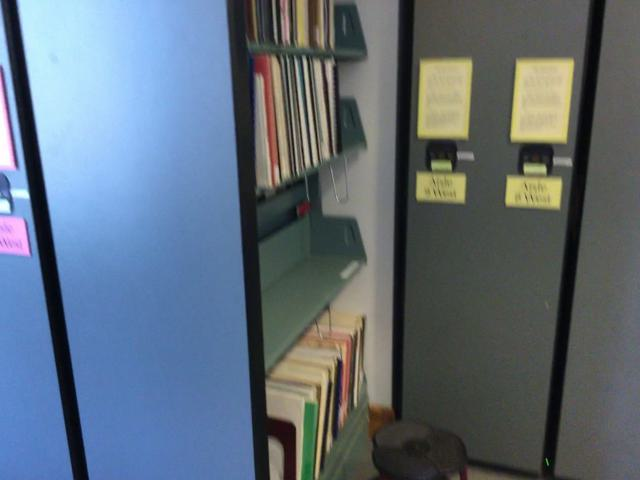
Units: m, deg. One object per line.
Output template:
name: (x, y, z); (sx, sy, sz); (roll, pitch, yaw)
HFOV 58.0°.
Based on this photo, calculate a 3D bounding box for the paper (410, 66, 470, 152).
paper: (0.390, -0.420, 1.870); (0.180, 0.260, 0.040); (1, 13, 21)

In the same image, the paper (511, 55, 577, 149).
paper: (0.670, -0.410, 1.740); (0.180, 0.260, 0.040); (1, 13, 21)

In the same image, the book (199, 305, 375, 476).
book: (-0.070, 0.470, 2.000); (0.340, 0.250, 0.700); (1, 13, 21)

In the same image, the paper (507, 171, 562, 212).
paper: (0.670, -0.150, 1.810); (0.160, 0.120, 0.040); (1, 13, 21)

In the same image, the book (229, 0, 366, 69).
book: (-0.030, -0.630, 1.400); (0.090, 0.380, 0.650); (1, 13, 21)

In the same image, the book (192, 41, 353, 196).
book: (-0.080, -0.320, 1.500); (0.130, 0.310, 0.650); (1, 13, 21)
